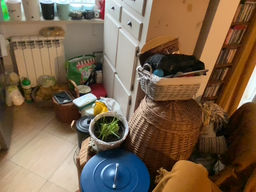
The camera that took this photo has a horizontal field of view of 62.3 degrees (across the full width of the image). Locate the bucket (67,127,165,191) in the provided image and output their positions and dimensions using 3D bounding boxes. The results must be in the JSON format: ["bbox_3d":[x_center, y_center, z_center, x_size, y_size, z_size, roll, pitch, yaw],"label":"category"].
[{"bbox_3d":[-0.080,0.610,1.410,0.400,0.520,0.450,25,39,21],"label":"bucket"}]
